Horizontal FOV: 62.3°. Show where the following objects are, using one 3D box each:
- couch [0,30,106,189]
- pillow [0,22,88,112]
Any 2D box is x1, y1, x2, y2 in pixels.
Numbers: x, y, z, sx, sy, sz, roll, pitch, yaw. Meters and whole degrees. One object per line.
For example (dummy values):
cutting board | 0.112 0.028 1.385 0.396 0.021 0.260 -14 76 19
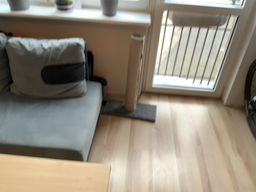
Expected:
couch | -0.560 0.060 1.550 0.670 0.770 0.810 5 37 1
pillow | -0.650 -0.200 1.580 0.530 0.430 0.200 27 31 -13
